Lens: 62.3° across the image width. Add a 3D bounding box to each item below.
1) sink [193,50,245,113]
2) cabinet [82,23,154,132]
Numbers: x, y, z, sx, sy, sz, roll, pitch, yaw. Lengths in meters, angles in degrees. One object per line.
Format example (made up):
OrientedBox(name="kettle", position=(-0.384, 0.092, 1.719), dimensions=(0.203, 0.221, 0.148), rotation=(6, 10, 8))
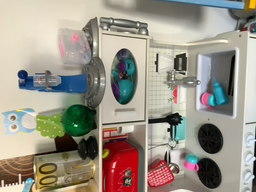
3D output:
OrientedBox(name="sink", position=(0.350, -0.060, 0.840), dimensions=(0.180, 0.060, 0.220), rotation=(12, 102, 61))
OrientedBox(name="cabinet", position=(-0.040, -0.060, 0.730), dimensions=(0.140, 0.200, 0.320), rotation=(12, 102, 61))
